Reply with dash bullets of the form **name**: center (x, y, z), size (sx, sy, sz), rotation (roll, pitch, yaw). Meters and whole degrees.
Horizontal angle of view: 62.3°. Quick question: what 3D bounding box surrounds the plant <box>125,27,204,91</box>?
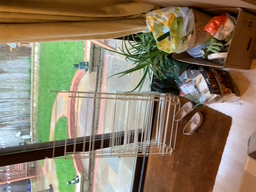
- **plant**: center (0.290, -0.330, 1.830), size (0.450, 0.420, 0.450), rotation (31, 118, 54)

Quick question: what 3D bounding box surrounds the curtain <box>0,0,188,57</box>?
- **curtain**: center (-0.380, -0.510, 1.320), size (0.180, 1.820, 0.400), rotation (31, 118, 54)
